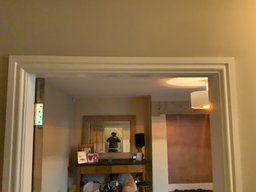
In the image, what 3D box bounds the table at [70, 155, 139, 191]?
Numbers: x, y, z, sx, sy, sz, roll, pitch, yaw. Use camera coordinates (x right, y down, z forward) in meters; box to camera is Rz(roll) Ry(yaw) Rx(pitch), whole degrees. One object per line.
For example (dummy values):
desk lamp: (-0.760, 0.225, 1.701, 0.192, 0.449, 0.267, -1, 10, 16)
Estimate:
table: (-0.510, 1.810, 4.730, 1.440, 0.840, 0.560, 1, -6, -6)
